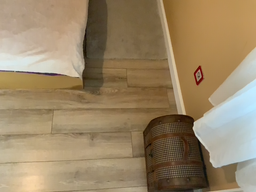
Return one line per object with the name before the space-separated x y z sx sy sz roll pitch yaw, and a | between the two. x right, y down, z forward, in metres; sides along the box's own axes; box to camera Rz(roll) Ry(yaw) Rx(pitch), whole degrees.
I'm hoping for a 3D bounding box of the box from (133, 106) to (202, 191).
box | 0.190 0.330 1.180 0.260 0.330 0.430 6 63 -6
